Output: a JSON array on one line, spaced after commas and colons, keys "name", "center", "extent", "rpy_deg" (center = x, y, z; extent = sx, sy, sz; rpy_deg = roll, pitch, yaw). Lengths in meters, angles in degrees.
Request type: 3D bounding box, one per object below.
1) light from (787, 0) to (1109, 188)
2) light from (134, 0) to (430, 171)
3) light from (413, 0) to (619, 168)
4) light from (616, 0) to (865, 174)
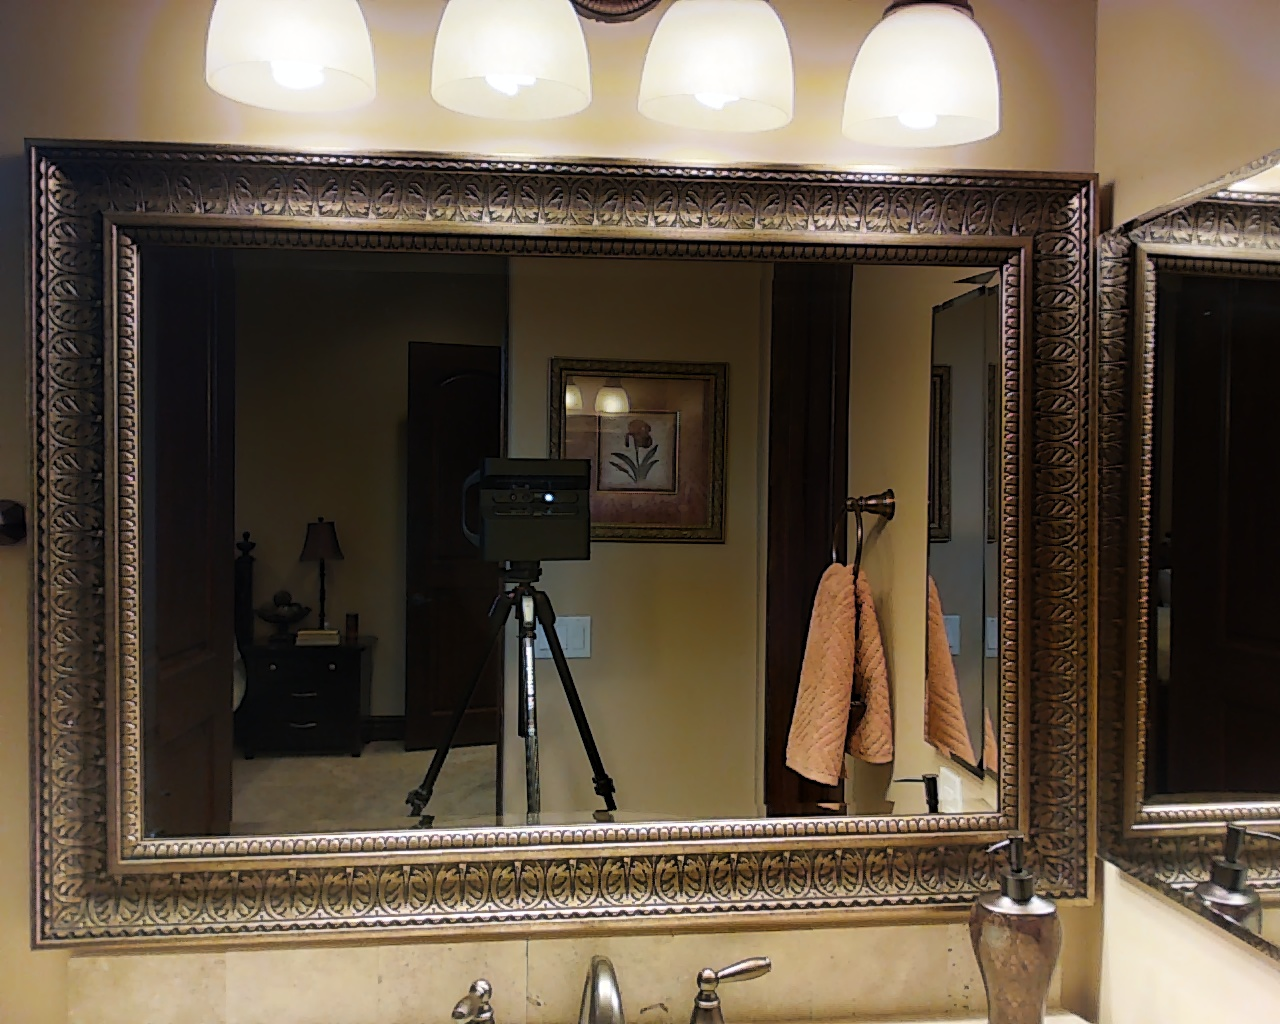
[{"name": "light", "center": [0.300, -0.510, 1.080], "extent": [0.260, 0.300, 0.190], "rpy_deg": [0, 1, -6]}, {"name": "light", "center": [-0.320, -0.510, 1.000], "extent": [0.230, 0.310, 0.200], "rpy_deg": [0, 1, -7]}, {"name": "light", "center": [-0.120, -0.520, 1.030], "extent": [0.180, 0.310, 0.190], "rpy_deg": [0, 1, -7]}, {"name": "light", "center": [0.090, -0.510, 1.040], "extent": [0.210, 0.300, 0.170], "rpy_deg": [0, 1, -7]}]
